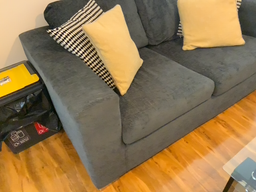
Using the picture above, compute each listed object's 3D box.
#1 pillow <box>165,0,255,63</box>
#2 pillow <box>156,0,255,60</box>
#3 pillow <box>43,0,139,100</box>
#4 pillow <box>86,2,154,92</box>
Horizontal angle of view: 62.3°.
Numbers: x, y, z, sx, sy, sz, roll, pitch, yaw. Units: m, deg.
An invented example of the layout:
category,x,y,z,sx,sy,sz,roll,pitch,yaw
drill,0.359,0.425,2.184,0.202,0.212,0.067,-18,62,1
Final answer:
category,x,y,z,sx,sy,sz,roll,pitch,yaw
pillow,0.600,-0.550,1.590,0.450,0.420,0.190,23,13,-16
pillow,0.600,-0.660,1.680,0.560,0.520,0.180,29,17,-2
pillow,-0.200,-0.320,1.310,0.230,0.500,0.520,30,24,2
pillow,-0.030,-0.310,1.260,0.120,0.430,0.470,27,27,5
